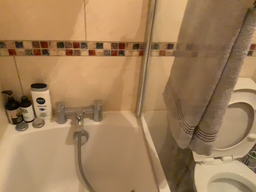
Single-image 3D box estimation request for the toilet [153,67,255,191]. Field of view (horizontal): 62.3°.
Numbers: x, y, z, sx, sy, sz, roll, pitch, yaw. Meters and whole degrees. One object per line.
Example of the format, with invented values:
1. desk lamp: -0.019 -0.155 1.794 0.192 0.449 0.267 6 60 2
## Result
1. toilet: 0.480 0.380 1.060 0.430 0.810 0.680 -2 35 -10
